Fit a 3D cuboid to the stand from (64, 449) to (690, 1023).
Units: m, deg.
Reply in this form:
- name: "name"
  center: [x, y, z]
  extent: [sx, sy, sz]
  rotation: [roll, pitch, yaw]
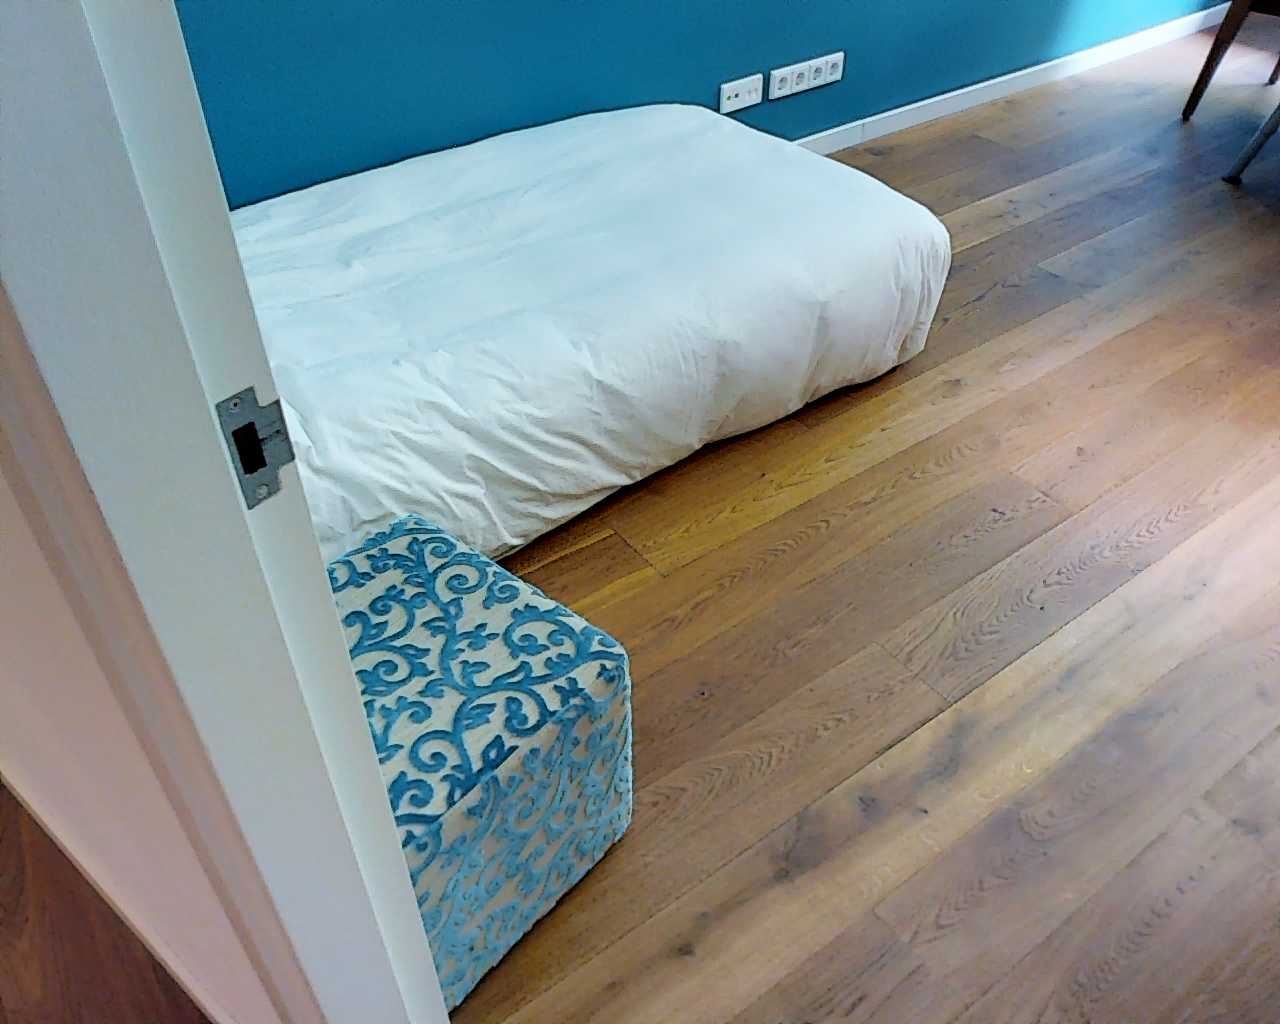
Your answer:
- name: "stand"
  center: [-0.320, 0.320, 1.470]
  extent: [0.570, 0.440, 0.510]
  rotation: [28, 48, 28]
